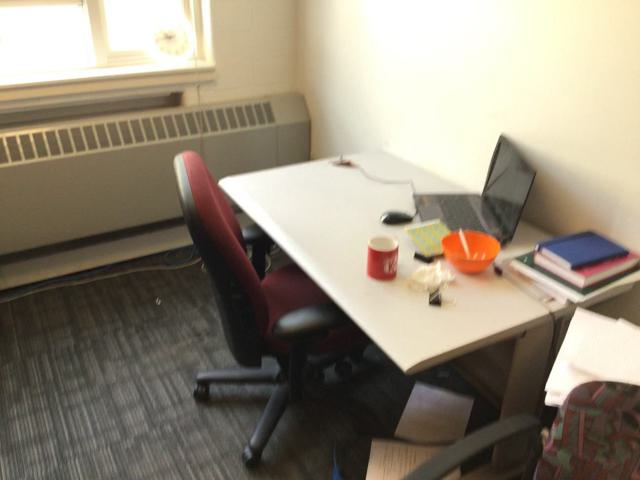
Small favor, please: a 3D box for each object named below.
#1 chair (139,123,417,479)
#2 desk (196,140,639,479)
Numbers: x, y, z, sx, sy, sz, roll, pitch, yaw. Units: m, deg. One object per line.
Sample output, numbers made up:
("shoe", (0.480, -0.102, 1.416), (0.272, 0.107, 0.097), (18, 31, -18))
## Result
("chair", (-0.110, 0.170, 1.800), (0.640, 0.920, 0.630), (1, 23, -1))
("desk", (0.200, 0.220, 1.960), (0.780, 0.780, 1.250), (-12, 27, -30))
